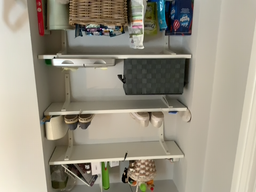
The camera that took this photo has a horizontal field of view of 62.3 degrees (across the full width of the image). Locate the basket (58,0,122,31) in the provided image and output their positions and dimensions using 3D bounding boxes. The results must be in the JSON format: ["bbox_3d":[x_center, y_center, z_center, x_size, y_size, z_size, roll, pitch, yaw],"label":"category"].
[{"bbox_3d":[-0.180,-0.410,1.090,0.290,0.130,0.220,-1,-165,-5],"label":"basket"}]
